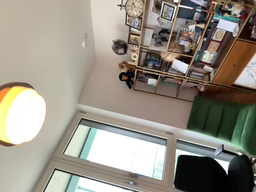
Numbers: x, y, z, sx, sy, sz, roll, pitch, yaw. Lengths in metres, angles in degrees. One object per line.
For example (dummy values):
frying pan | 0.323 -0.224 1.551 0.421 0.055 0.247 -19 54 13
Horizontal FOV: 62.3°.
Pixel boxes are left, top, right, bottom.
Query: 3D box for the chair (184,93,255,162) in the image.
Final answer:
chair | 1.250 0.350 2.540 0.780 0.910 0.530 -36 -41 -82

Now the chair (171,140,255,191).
chair | 1.040 0.920 2.240 0.690 0.980 0.380 98 -172 -49
